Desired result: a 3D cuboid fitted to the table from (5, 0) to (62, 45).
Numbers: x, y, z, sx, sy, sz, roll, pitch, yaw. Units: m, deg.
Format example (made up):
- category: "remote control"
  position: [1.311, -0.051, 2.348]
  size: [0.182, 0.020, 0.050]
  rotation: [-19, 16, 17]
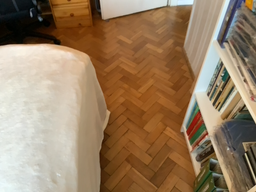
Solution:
- category: "table"
  position: [-1.020, -1.050, 2.120]
  size: [0.390, 0.790, 0.570]
  rotation: [-20, 53, -16]
